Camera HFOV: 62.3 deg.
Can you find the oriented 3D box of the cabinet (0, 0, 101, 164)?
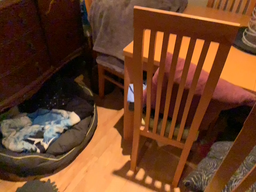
[{"bbox_3d":[-0.890,-0.220,1.450,0.590,0.920,1.450,22,47,22],"label":"cabinet"}]

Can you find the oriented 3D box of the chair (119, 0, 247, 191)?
[{"bbox_3d":[0.240,0.000,1.150,0.370,1.060,0.520,17,45,17],"label":"chair"}]

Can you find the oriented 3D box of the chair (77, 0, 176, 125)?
[{"bbox_3d":[-0.030,-0.370,1.560,0.370,1.050,0.520,-30,51,-30],"label":"chair"}]
